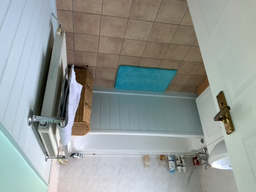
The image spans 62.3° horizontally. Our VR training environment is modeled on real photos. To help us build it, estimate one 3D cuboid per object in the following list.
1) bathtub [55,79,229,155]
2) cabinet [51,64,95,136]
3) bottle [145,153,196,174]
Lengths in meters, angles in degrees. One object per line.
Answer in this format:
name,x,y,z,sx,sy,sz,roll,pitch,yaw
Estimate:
bathtub,0.110,0.330,2.590,1.800,0.540,0.860,4,150,-13
cabinet,-0.500,0.040,1.990,0.330,0.570,0.330,4,150,-12
bottle,0.560,0.880,2.780,0.650,0.240,0.080,4,150,-13
